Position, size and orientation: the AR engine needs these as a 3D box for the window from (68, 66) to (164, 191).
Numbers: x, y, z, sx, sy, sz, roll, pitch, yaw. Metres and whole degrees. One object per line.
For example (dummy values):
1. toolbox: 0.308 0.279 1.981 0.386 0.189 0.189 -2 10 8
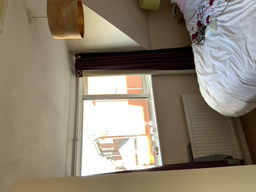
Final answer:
1. window: -0.200 0.390 3.030 0.290 1.160 1.710 100 167 -67

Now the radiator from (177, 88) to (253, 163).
1. radiator: 1.100 0.360 2.790 0.180 0.720 0.930 99 168 -64
